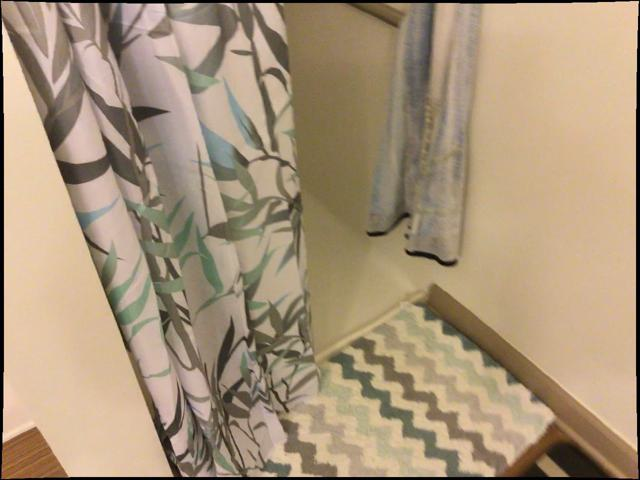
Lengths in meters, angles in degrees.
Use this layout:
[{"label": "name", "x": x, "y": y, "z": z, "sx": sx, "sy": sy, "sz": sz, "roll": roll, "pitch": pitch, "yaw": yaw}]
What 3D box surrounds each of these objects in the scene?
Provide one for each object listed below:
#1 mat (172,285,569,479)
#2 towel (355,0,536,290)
[{"label": "mat", "x": 0.140, "y": 0.501, "z": 1.460, "sx": 0.849, "sy": 0.040, "sz": 0.550, "roll": -32, "pitch": 52, "yaw": -26}, {"label": "towel", "x": 0.259, "y": -0.281, "z": 1.380, "sx": 0.190, "sy": 0.821, "sz": 0.300, "roll": -30, "pitch": 51, "yaw": -25}]
